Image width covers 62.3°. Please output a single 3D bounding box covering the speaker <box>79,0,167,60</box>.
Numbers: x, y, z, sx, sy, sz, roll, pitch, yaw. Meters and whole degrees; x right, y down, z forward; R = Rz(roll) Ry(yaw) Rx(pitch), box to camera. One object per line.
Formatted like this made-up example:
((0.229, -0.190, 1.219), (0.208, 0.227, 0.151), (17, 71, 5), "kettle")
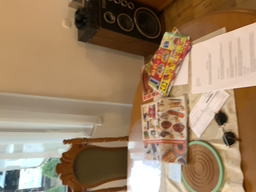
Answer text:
((-0.040, -0.720, 2.230), (0.360, 0.850, 0.410), (-22, 66, 54), "speaker")
